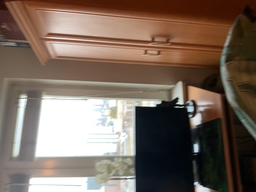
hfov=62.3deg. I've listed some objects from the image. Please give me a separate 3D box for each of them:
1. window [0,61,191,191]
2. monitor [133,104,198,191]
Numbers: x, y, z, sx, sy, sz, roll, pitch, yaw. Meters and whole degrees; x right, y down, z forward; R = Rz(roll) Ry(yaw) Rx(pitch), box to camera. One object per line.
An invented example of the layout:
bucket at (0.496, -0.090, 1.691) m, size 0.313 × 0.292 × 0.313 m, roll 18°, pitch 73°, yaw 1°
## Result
window at (-0.270, 0.530, 1.900) m, size 0.130 × 1.680 × 1.620 m, roll 131°, pitch 140°, yaw -75°
monitor at (0.280, 0.440, 1.590) m, size 0.050 × 0.470 × 0.730 m, roll 124°, pitch 149°, yaw -75°
